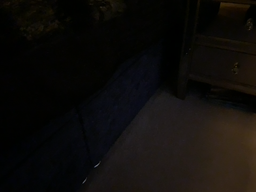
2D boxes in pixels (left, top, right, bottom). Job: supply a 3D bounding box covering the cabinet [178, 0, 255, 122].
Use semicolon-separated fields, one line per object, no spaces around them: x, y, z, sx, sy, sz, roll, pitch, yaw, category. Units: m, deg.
0.570;-0.260;1.010;0.470;0.540;0.470;18;42;25;cabinet
